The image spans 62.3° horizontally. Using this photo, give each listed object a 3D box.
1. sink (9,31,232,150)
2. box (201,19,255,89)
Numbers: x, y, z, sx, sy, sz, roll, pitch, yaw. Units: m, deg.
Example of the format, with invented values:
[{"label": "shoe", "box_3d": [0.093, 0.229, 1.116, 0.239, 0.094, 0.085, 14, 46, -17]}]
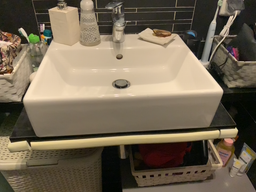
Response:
[{"label": "sink", "box_3d": [-0.030, -0.060, 0.720, 0.530, 0.160, 0.430, -3, 37, -6]}, {"label": "box", "box_3d": [0.430, -0.170, 0.810, 0.180, 0.170, 0.250, -2, 37, -5]}]
